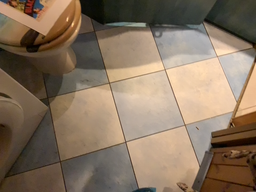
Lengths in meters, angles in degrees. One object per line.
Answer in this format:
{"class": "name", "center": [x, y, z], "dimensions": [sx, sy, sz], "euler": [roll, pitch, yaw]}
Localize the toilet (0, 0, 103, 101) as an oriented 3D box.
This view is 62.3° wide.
{"class": "toilet", "center": [-0.500, -0.400, 0.830], "dimensions": [0.690, 0.780, 0.370], "euler": [29, 74, 3]}
